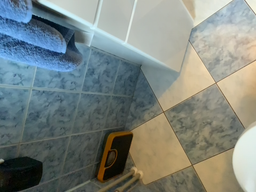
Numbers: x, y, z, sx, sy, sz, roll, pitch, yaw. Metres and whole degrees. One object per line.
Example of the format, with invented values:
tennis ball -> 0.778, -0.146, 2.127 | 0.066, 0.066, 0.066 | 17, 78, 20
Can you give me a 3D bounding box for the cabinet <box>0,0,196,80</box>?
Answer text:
cabinet -> -0.230, -0.350, 0.440 | 0.290, 1.920, 0.330 | 18, 95, 28
